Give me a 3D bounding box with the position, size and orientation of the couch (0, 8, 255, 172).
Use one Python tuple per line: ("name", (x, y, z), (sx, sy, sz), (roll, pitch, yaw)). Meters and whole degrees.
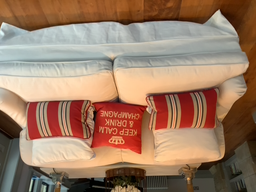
("couch", (-0.090, 0.040, 1.730), (1.810, 0.870, 0.970), (-3, 149, 2))
